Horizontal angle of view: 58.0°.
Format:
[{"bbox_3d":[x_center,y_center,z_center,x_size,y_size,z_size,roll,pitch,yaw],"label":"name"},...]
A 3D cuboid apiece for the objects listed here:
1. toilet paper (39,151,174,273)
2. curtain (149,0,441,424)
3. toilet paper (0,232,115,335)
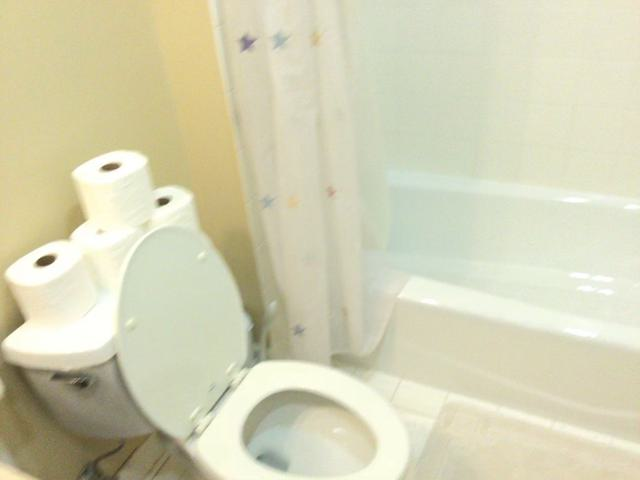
[{"bbox_3d":[-0.420,-0.060,1.160,0.140,0.170,0.160,10,38,25],"label":"toilet paper"},{"bbox_3d":[-0.010,-0.520,1.310,0.400,2.000,0.610,10,38,25],"label":"curtain"},{"bbox_3d":[-0.510,0.080,1.120,0.120,0.120,0.140,10,38,25],"label":"toilet paper"}]
